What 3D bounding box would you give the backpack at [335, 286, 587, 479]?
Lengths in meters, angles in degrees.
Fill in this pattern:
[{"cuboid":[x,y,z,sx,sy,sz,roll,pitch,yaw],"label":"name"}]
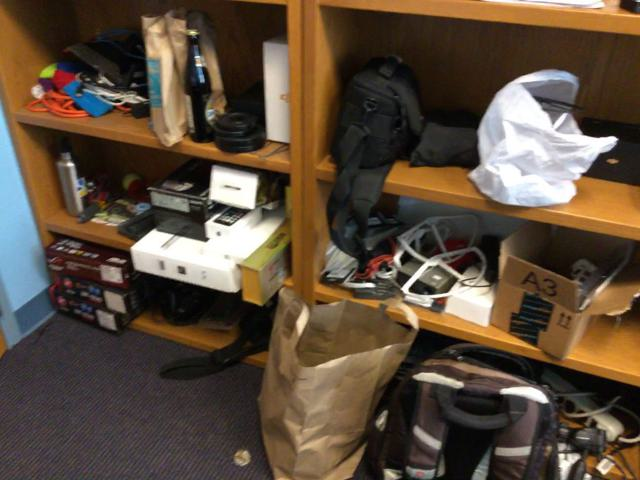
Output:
[{"cuboid":[0.300,0.420,1.250,0.420,0.450,0.350,10,31,23],"label":"backpack"}]
